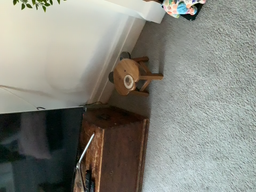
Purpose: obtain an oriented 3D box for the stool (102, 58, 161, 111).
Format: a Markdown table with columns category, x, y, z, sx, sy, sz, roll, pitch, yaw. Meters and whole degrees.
| category | x | y | z | sx | sy | sz | roll | pitch | yaw |
| --- | --- | --- | --- | --- | --- | --- | --- | --- | --- |
| stool | 0.020 | -0.090 | 1.610 | 0.280 | 0.250 | 0.270 | 46 | 123 | 32 |
